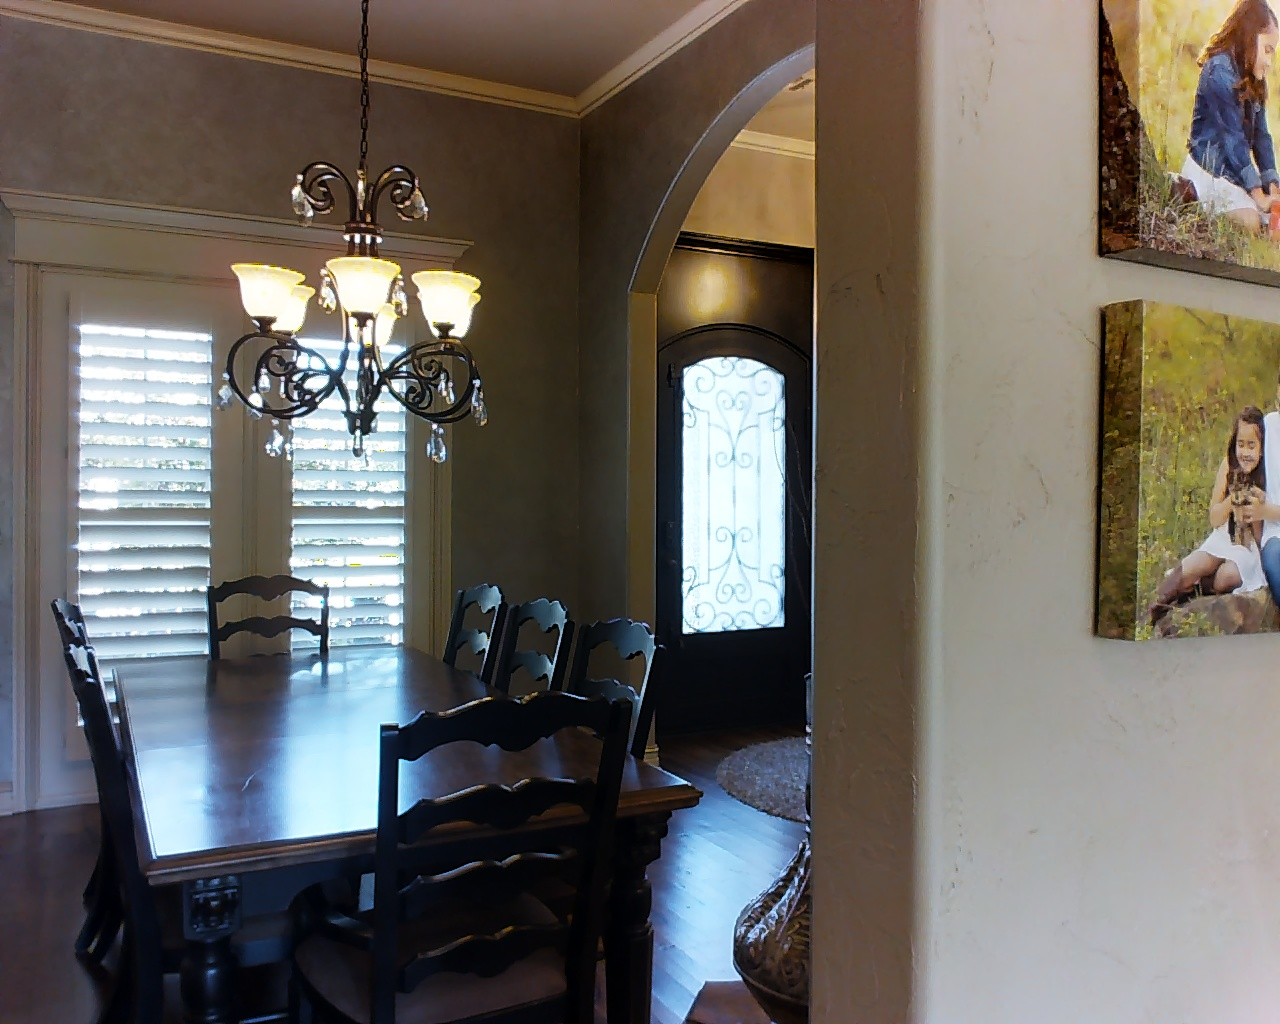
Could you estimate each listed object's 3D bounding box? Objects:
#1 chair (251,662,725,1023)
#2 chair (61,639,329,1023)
[{"bbox_3d":[-0.360,0.910,2.300,0.820,1.040,0.720,1,0,-26],"label":"chair"},{"bbox_3d":[-1.120,0.890,2.640,0.530,1.050,0.730,1,0,-28],"label":"chair"}]
